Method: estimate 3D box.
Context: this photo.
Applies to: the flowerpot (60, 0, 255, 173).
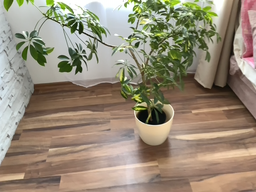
[{"bbox_3d":[0.090,-0.120,1.230,0.700,0.820,0.630,-7,38,-5],"label":"flowerpot"}]
